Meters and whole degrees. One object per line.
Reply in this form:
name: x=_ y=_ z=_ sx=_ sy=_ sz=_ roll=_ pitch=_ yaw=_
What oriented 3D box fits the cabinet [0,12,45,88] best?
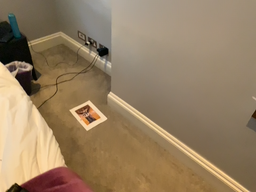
cabinet: x=-1.170 y=-0.470 z=2.100 sx=0.350 sy=0.480 sz=0.530 roll=-31 pitch=53 yaw=-33
